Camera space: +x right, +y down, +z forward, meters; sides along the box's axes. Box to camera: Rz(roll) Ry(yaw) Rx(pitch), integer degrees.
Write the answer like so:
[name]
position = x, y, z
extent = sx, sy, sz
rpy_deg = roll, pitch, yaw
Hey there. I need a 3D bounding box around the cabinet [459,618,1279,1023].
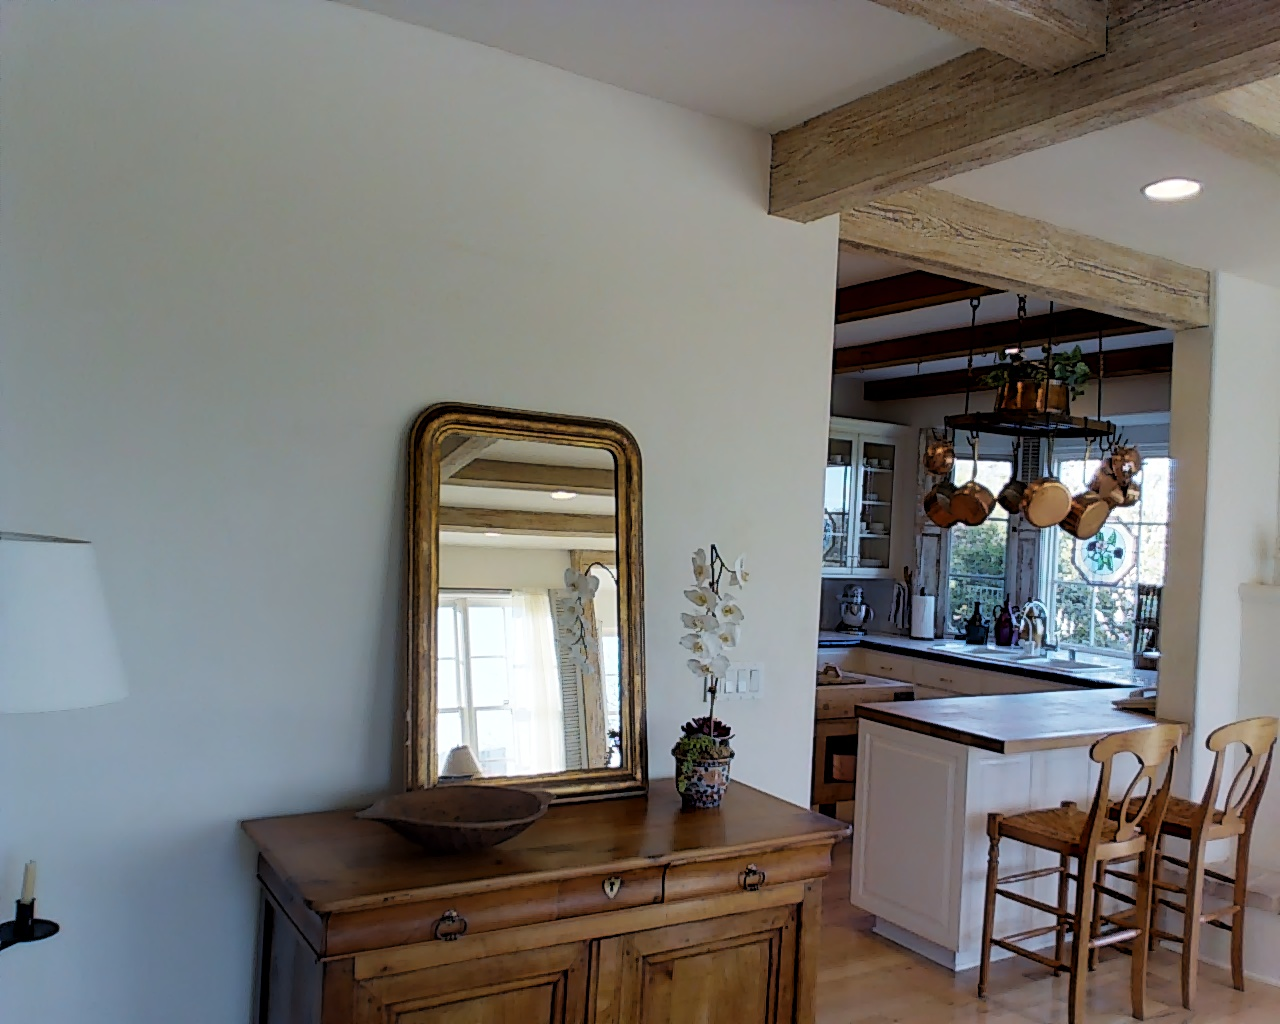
[cabinet]
position = 1.470, 1.280, 6.030
extent = 3.789, 0.970, 3.590
rpy_deg = 3, 0, -32
